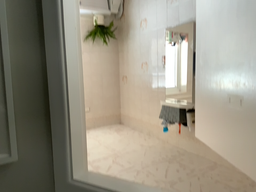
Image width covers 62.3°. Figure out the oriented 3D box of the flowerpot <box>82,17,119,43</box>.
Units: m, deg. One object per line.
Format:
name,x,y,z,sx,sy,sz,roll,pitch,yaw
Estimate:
flowerpot,-0.350,-0.830,2.710,0.380,0.260,0.290,-6,-172,-26
